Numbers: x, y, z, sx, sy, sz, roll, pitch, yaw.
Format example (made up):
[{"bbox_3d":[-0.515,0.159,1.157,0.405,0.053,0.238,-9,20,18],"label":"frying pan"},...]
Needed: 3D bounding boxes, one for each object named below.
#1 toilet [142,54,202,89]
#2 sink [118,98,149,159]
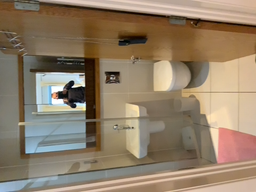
[{"bbox_3d":[0.510,-0.280,2.590,0.560,0.490,0.370,-168,77,-70],"label":"toilet"},{"bbox_3d":[0.050,0.350,2.510,0.480,0.200,0.620,-168,77,-70],"label":"sink"}]
